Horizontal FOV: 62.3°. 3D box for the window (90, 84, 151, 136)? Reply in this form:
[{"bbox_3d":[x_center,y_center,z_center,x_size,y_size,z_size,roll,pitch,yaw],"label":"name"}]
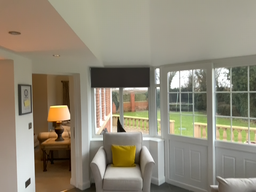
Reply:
[{"bbox_3d":[-0.140,0.270,4.150,1.180,0.990,0.070,-1,2,-2],"label":"window"}]
